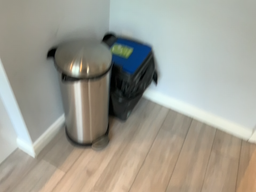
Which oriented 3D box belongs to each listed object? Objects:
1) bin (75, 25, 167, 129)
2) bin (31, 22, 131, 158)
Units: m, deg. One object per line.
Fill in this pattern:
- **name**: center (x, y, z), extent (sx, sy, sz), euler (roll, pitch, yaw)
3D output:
- **bin**: center (-0.050, -0.150, 1.560), extent (0.450, 0.480, 0.440), euler (24, 46, 17)
- **bin**: center (-0.250, -0.020, 1.270), extent (0.310, 0.660, 0.370), euler (29, 48, 21)
